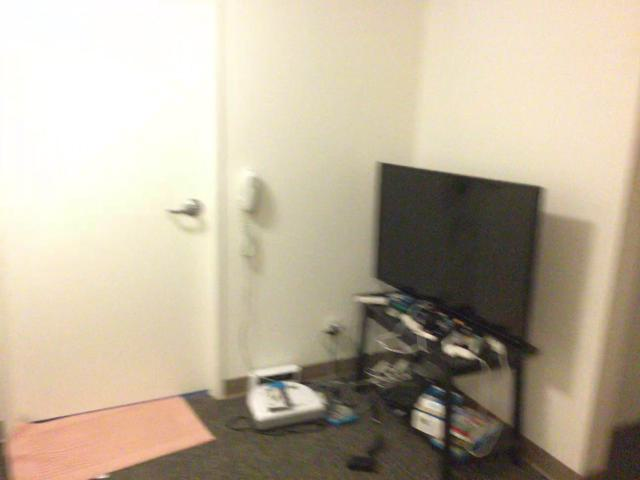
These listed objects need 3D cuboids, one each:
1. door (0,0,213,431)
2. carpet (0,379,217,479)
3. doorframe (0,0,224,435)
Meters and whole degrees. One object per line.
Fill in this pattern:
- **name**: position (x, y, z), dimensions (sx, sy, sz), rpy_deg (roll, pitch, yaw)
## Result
- **door**: position (-0.950, -0.120, 2.580), dimensions (0.870, 1.910, 0.070), rpy_deg (-5, 13, -23)
- **carpet**: position (-0.950, 0.850, 2.560), dimensions (0.860, 0.110, 0.470), rpy_deg (-7, 14, -29)
- **doorframe**: position (-0.970, -0.200, 2.490), dimensions (1.020, 1.990, 0.170), rpy_deg (-5, 13, -23)
